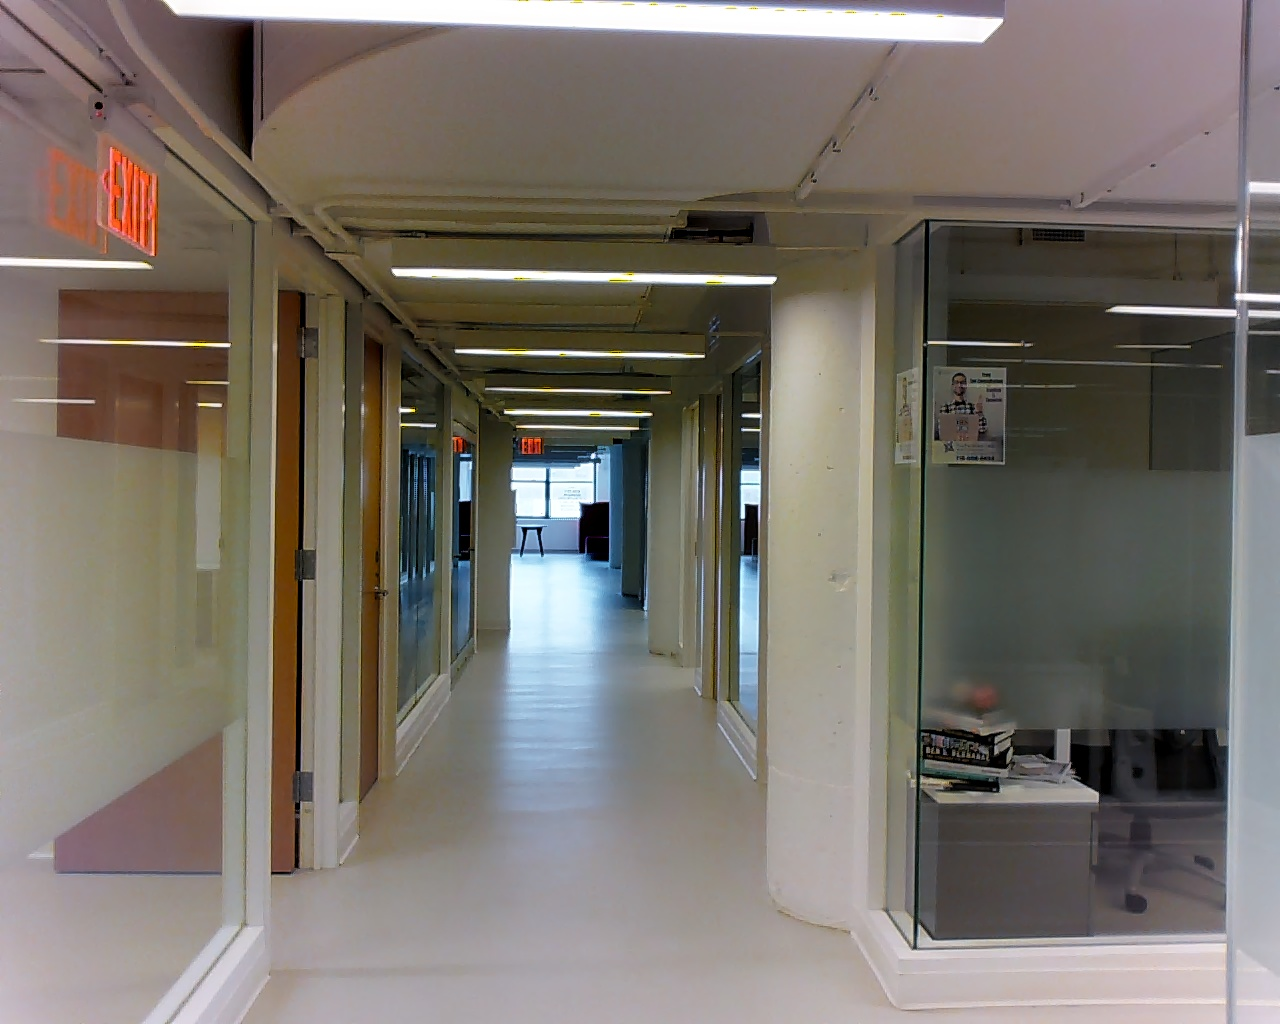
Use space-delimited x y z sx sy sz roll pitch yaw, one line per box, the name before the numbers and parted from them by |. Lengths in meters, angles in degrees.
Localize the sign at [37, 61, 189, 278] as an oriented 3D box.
sign | -1.060 -0.680 2.180 0.150 0.330 0.340 1 0 -2
